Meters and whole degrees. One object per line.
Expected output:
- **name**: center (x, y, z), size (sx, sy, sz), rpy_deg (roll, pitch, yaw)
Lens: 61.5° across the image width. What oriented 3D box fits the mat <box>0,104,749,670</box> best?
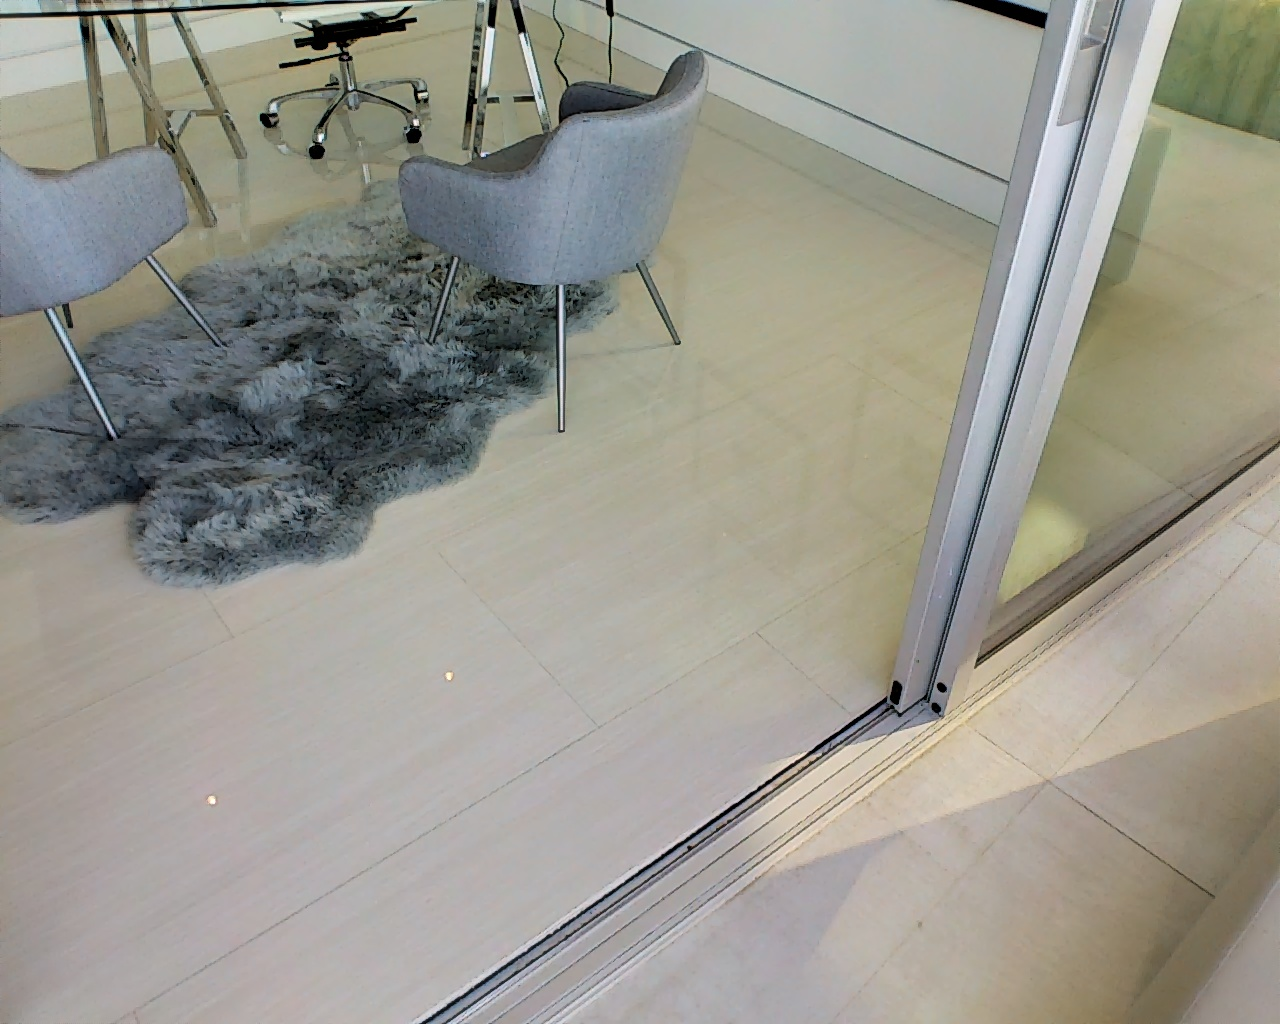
- **mat**: center (-0.750, -0.560, 2.860), size (1.360, 0.090, 2.030), rpy_deg (20, 46, 20)
